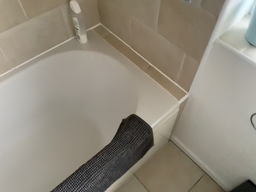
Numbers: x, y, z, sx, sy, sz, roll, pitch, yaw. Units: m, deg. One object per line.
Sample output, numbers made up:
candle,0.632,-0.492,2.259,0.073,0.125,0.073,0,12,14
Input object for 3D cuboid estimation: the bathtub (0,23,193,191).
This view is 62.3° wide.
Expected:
bathtub,-0.590,0.430,1.000,1.740,0.540,0.720,-38,64,-22
